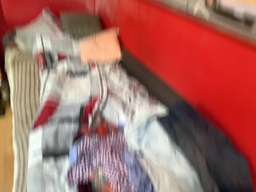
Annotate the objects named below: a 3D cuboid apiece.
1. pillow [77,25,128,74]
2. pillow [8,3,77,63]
[{"bbox_3d":[-0.250,-0.440,1.920,0.350,0.120,0.480,-45,34,1],"label":"pillow"},{"bbox_3d":[-0.810,-0.560,2.000,0.400,0.490,0.200,-43,52,39],"label":"pillow"}]
